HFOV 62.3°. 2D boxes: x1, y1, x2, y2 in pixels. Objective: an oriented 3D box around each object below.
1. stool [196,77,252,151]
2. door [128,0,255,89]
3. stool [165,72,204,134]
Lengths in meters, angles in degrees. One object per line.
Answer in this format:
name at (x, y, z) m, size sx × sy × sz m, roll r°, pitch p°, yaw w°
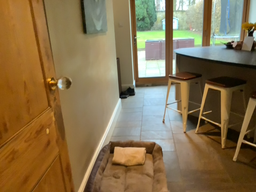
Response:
stool at (1.000, 0.170, 2.250) m, size 0.360 × 0.640 × 0.350 m, roll -13°, pitch 20°, yaw -26°
door at (1.250, -1.280, 4.380) m, size 2.410 × 2.210 × 0.220 m, roll -1°, pitch 18°, yaw 8°
stool at (0.690, 0.070, 2.620) m, size 0.330 × 0.640 × 0.310 m, roll -16°, pitch 22°, yaw -33°
